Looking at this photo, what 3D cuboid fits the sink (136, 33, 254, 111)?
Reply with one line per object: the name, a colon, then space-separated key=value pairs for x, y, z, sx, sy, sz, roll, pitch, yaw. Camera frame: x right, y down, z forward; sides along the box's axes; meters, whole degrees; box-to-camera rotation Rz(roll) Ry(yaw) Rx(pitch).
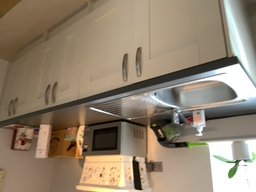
sink: x=0.400 y=-0.090 z=1.280 sx=0.520 sy=0.190 sz=0.480 roll=-14 pitch=156 yaw=38
